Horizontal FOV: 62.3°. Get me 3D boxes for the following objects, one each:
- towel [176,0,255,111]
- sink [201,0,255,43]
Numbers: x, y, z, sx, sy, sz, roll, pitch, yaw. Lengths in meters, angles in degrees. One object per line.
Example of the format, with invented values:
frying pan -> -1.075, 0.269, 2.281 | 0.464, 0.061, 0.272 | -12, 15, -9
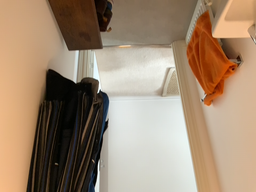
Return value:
towel -> 0.510, -0.350, 1.400 | 0.110, 0.670, 0.710 | -1, 153, -4
sink -> 0.500, -0.430, 0.840 | 0.240, 0.150, 0.470 | -2, 153, -2
